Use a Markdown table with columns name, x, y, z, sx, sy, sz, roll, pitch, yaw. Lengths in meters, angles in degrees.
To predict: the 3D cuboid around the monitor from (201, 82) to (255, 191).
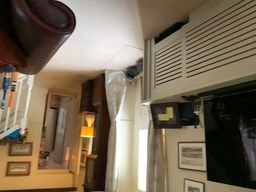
| name | x | y | z | sx | sy | sz | roll | pitch | yaw |
| --- | --- | --- | --- | --- | --- | --- | --- | --- | --- |
| monitor | 1.010 | 0.260 | 1.420 | 0.080 | 0.760 | 1.220 | 10 | 165 | -29 |

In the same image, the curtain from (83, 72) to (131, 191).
| name | x | y | z | sx | sy | sz | roll | pitch | yaw |
| --- | --- | --- | --- | --- | --- | --- | --- | --- | --- |
| curtain | -0.350 | 0.660 | 3.750 | 0.560 | 2.040 | 0.460 | 12 | 164 | -34 |
